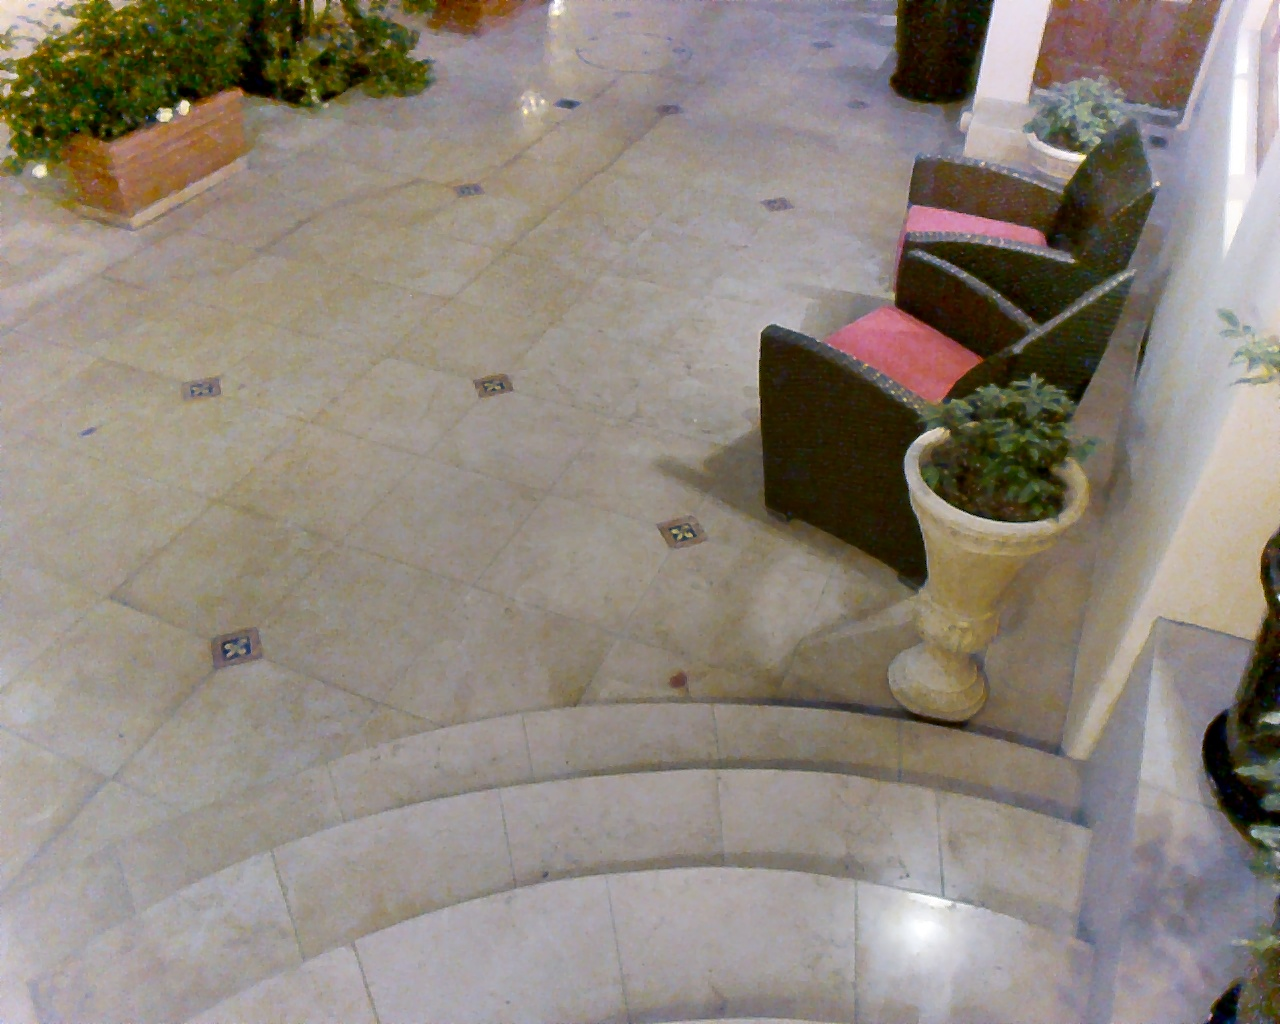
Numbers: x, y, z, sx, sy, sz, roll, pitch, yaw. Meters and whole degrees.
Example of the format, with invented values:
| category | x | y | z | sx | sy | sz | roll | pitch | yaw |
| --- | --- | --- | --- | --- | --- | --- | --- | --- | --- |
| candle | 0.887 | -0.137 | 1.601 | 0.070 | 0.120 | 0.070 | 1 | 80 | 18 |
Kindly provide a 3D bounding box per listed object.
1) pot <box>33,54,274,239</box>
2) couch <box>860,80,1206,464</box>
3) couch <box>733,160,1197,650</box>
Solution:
| category | x | y | z | sx | sy | sz | roll | pitch | yaw |
| --- | --- | --- | --- | --- | --- | --- | --- | --- | --- |
| pot | -2.170 | -1.680 | 4.900 | 0.440 | 0.460 | 0.860 | 17 | 44 | 18 |
| couch | 1.270 | -0.820 | 3.620 | 0.820 | 0.890 | 0.790 | 12 | 42 | 12 |
| couch | 0.850 | -0.330 | 3.050 | 0.750 | 0.900 | 0.820 | -31 | 50 | -31 |
